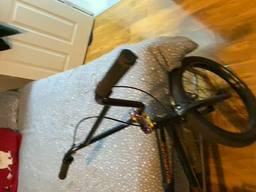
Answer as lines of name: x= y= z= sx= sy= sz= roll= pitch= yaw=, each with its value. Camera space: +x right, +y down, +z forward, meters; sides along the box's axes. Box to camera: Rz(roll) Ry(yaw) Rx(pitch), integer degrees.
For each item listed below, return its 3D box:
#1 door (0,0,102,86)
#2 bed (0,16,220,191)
door: x=-1.110 y=-0.590 z=1.640 sx=0.020 sy=2.030 sz=0.760 roll=25 pitch=101 yaw=44
bed: x=-0.410 y=0.560 z=1.690 sx=2.000 sy=0.620 sz=1.510 roll=-10 pitch=77 yaw=44
